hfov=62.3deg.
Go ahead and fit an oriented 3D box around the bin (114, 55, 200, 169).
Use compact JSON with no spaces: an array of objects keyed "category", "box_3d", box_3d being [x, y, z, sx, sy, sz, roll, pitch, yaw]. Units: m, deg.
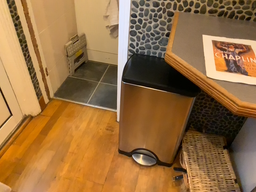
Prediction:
[{"category":"bin","box_3d":[0.150,0.120,1.320,0.400,0.630,0.280,11,43,7]}]
